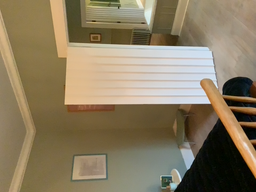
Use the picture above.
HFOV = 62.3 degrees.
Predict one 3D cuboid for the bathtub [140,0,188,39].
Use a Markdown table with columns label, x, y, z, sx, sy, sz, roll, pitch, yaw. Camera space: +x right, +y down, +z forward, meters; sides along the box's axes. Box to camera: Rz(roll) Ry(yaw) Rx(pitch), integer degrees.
| label | x | y | z | sx | sy | sz | roll | pitch | yaw |
| --- | --- | --- | --- | --- | --- | --- | --- | --- | --- |
| bathtub | 0.720 | -2.120 | 3.890 | 0.820 | 0.630 | 1.910 | -100 | 13 | -48 |
